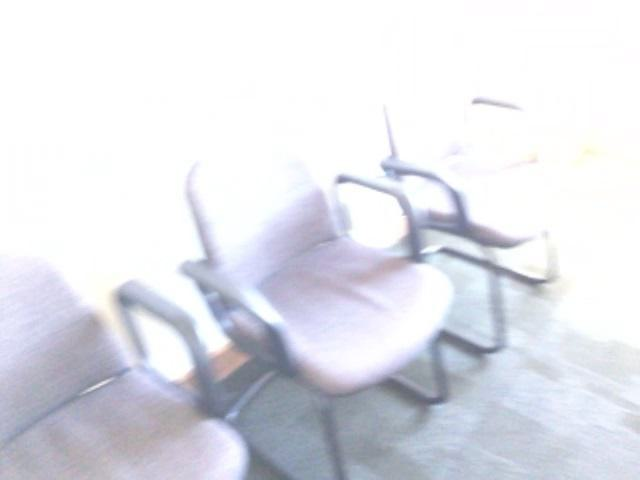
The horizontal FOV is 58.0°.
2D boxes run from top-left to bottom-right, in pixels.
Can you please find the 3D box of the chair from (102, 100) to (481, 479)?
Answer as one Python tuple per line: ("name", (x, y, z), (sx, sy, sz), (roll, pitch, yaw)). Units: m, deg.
("chair", (-0.030, 0.070, 1.470), (0.640, 0.600, 0.590), (19, 42, 39))
